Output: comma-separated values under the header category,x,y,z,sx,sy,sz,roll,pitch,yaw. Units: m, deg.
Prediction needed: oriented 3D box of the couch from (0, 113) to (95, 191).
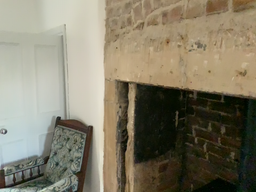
category,x,y,z,sx,sy,sz,roll,pitch,yaw
couch,-0.840,0.730,1.960,0.720,0.900,0.760,9,13,36
